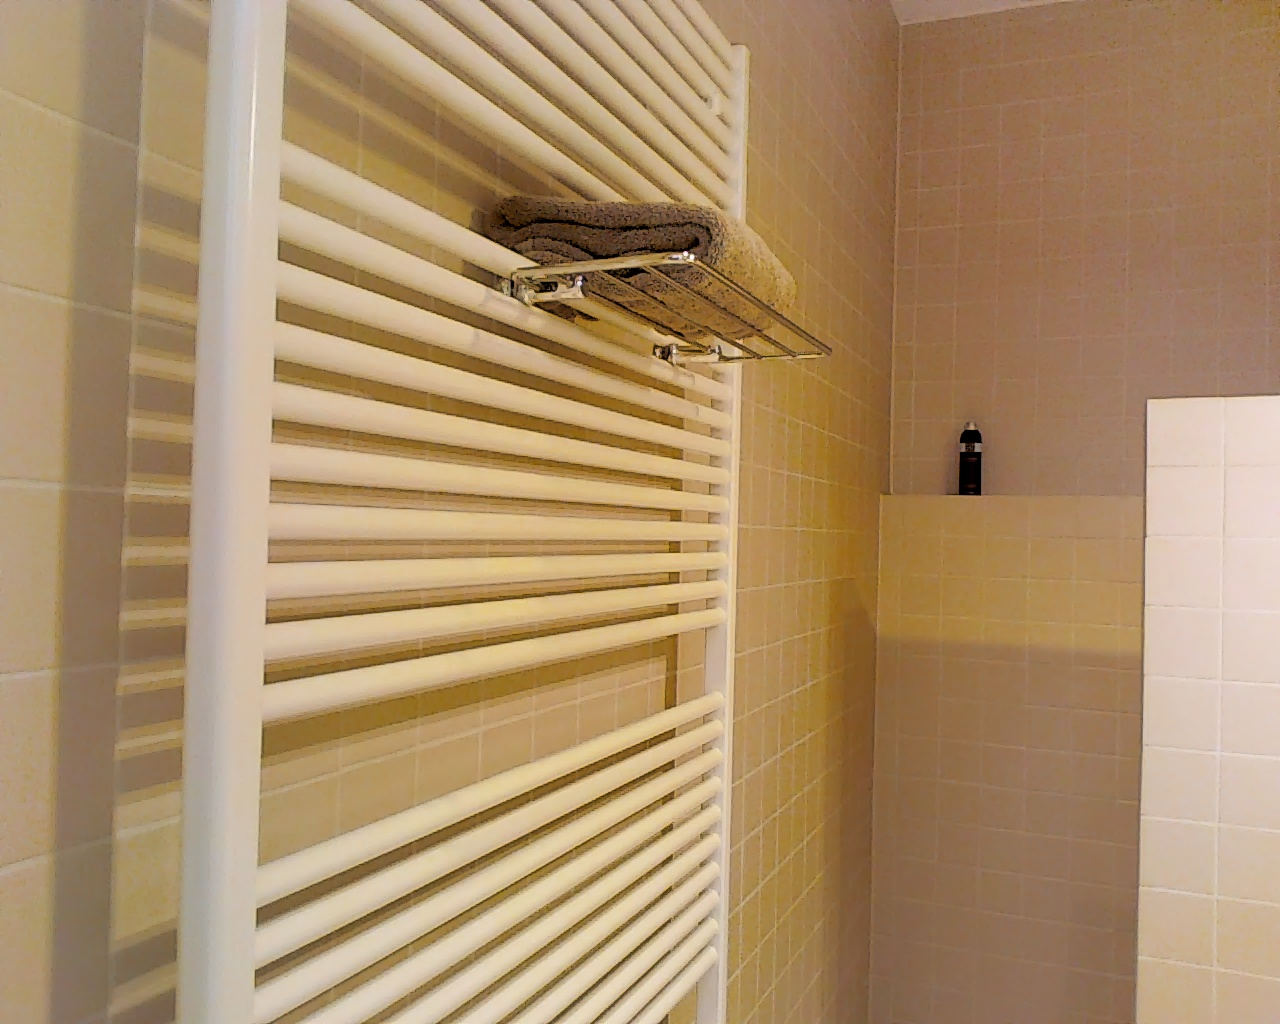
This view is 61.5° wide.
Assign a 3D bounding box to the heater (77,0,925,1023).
[{"bbox_3d":[0.000,0.340,0.970,0.310,2.120,0.910,1,-1,24],"label":"heater"}]
